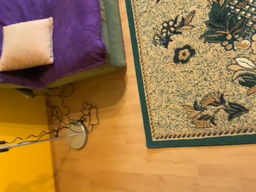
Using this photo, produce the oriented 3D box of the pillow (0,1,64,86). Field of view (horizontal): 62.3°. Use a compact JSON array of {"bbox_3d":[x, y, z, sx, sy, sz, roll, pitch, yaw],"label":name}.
[{"bbox_3d":[-0.610,-0.330,1.300,0.230,0.350,0.370,-17,122,5],"label":"pillow"}]
